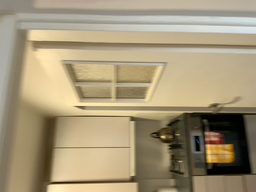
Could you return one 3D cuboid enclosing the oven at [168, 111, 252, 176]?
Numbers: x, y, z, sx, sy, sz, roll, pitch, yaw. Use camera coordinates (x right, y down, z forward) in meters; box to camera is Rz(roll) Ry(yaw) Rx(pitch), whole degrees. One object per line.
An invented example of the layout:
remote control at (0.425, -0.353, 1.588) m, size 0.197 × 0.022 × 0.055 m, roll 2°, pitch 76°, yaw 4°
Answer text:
oven at (0.880, 0.550, 2.450) m, size 0.610 × 0.650 × 0.640 m, roll 104°, pitch 166°, yaw -73°
